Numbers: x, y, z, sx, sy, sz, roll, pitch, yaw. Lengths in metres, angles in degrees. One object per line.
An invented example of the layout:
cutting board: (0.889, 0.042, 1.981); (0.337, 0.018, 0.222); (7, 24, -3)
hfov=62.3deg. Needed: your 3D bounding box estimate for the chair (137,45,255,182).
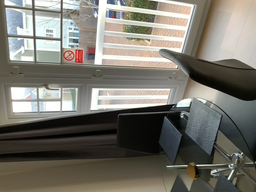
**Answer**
chair: (0.650, 0.070, 1.260); (0.420, 1.030, 0.560); (-121, 36, -55)
